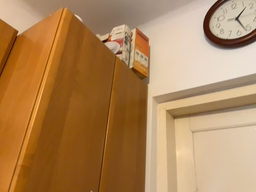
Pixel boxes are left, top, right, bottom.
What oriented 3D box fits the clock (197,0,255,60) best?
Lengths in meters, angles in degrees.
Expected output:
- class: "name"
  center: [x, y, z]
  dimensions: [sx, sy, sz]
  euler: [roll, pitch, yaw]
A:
- class: "clock"
  center: [0.520, -0.380, 1.010]
  dimensions: [0.350, 0.350, 0.040]
  euler: [-15, -33, 34]
